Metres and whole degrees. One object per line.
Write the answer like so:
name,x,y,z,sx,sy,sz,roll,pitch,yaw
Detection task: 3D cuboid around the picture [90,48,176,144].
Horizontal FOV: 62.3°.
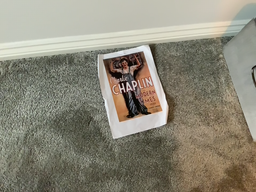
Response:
picture,0.010,-0.010,0.710,0.230,0.030,0.290,-9,74,-9
